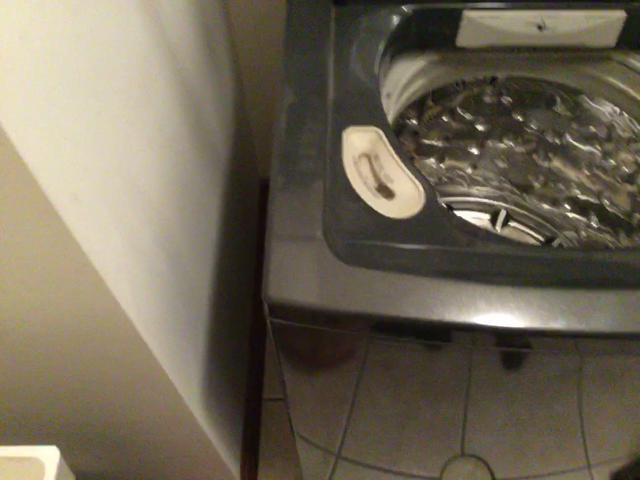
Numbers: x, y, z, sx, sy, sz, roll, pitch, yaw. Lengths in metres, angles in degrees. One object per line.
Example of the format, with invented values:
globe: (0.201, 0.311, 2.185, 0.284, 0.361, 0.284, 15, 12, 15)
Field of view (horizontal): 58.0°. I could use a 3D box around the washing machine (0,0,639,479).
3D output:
washing machine: (0.230, -0.110, 0.910, 0.680, 1.340, 0.890, -1, 56, 0)
